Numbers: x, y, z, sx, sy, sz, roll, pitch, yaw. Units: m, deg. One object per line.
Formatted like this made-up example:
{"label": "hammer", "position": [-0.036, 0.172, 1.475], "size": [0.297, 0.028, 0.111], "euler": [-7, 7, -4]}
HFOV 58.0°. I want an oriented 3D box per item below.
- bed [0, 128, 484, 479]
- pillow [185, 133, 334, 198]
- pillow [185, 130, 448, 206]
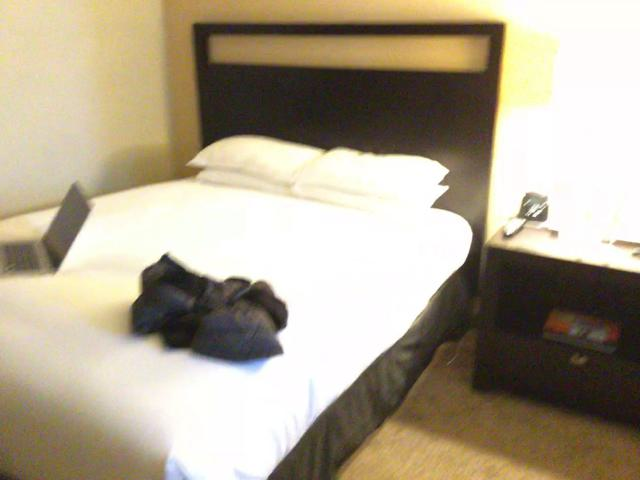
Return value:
{"label": "bed", "position": [-0.440, 0.200, 2.210], "size": [1.540, 1.030, 2.150], "euler": [9, 17, 27]}
{"label": "pillow", "position": [-0.300, -0.390, 2.910], "size": [0.620, 0.230, 0.400], "euler": [9, 17, 27]}
{"label": "pillow", "position": [-0.040, -0.370, 2.760], "size": [1.200, 0.220, 0.400], "euler": [9, 17, 27]}
